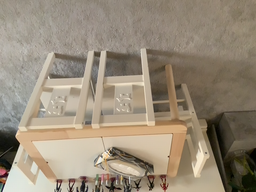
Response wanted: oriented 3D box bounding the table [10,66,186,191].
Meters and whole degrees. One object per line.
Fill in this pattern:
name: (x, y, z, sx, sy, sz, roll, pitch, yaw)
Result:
table: (-0.150, 0.240, 1.460, 0.870, 0.560, 0.620, -3, 137, -1)
